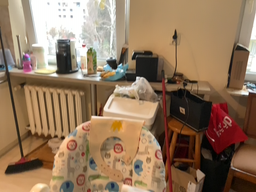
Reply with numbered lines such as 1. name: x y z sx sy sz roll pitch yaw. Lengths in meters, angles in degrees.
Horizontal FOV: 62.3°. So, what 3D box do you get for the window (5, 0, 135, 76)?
1. window: -0.580 -0.980 1.990 1.300 1.420 0.220 9 22 17
